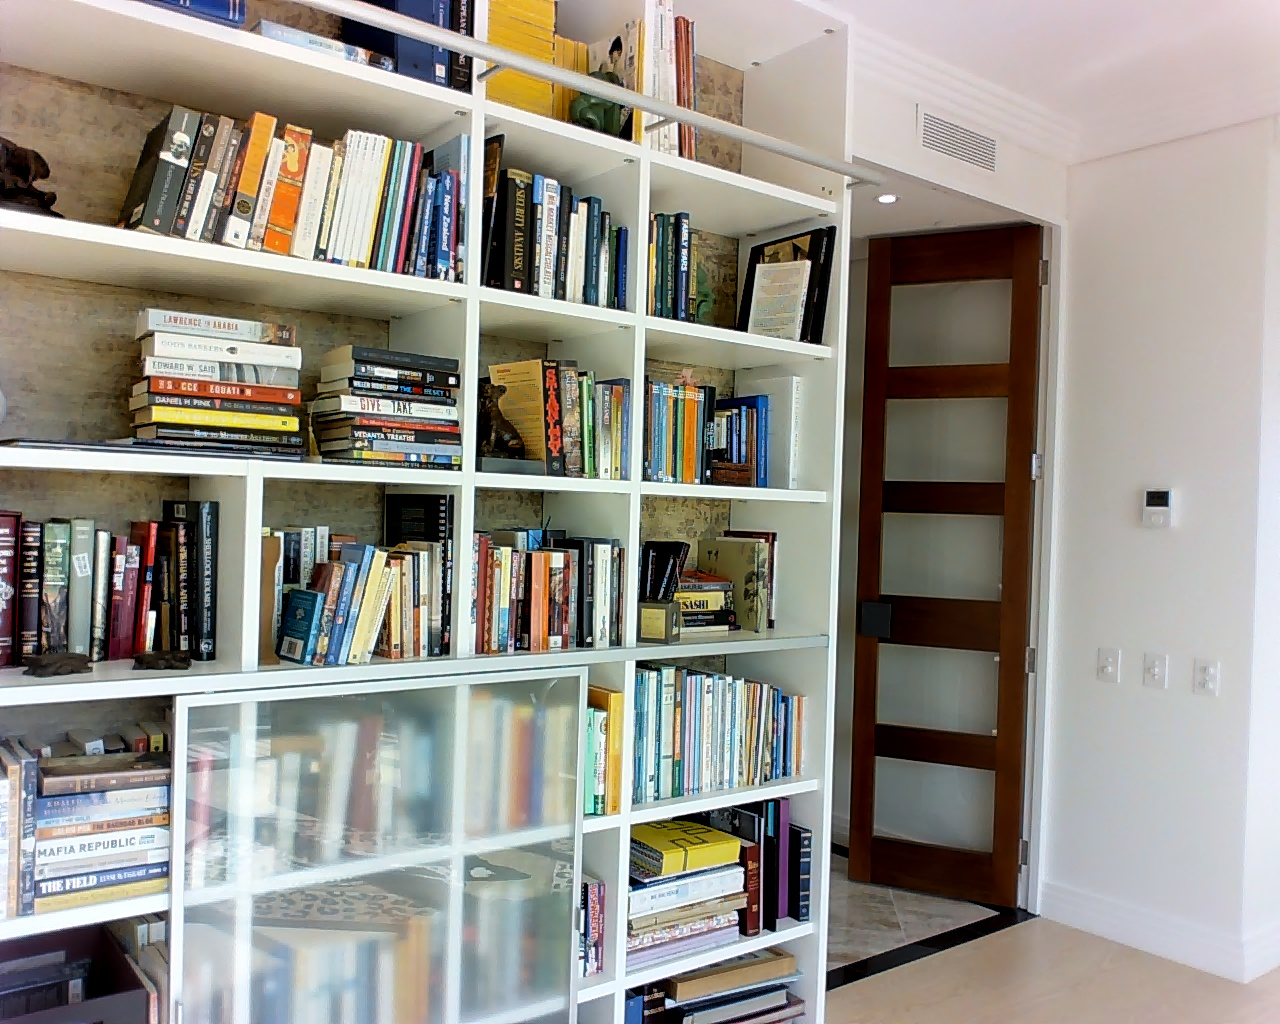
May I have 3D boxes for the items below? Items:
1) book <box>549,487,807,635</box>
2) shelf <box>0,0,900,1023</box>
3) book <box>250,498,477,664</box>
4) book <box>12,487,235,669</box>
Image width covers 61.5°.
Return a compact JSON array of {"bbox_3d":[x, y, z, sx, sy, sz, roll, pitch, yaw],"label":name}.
[{"bbox_3d":[0.100,0.110,2.620,0.570,0.320,0.280,2,0,-38],"label":"book"},{"bbox_3d":[-0.790,-0.050,1.830,3.270,2.761,0.330,2,0,-37],"label":"shelf"},{"bbox_3d":[-0.510,0.120,2.000,0.360,0.280,0.180,2,0,-37],"label":"book"},{"bbox_3d":[-0.850,0.100,1.770,0.290,0.270,0.200,2,0,-37],"label":"book"}]
